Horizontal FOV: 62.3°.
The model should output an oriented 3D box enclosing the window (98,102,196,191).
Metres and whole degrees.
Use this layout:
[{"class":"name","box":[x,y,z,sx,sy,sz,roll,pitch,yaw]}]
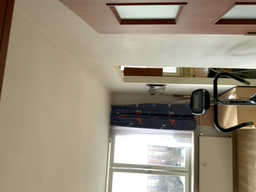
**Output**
[{"class":"window","box":[0.370,1.170,4.280,0.320,1.840,2.010,39,-127,-84]}]
